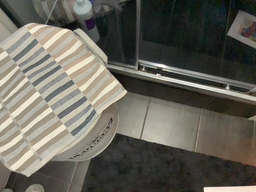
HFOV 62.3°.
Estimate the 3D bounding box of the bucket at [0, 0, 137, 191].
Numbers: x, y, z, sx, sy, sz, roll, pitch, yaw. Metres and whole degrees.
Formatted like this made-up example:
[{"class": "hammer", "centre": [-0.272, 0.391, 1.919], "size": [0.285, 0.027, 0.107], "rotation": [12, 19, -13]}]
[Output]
[{"class": "bucket", "centre": [-0.280, 0.050, 0.960], "size": [0.480, 0.590, 0.550], "rotation": [18, 75, 6]}]
